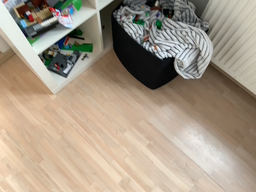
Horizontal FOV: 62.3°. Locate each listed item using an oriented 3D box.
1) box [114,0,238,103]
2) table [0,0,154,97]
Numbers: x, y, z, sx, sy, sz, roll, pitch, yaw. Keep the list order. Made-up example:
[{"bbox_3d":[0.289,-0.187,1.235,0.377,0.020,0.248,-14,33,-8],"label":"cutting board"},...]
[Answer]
[{"bbox_3d":[0.210,-0.300,1.170,0.330,0.400,0.490,-39,77,-16],"label":"box"},{"bbox_3d":[-0.270,-0.560,1.030,0.450,0.800,0.840,41,73,11],"label":"table"}]
